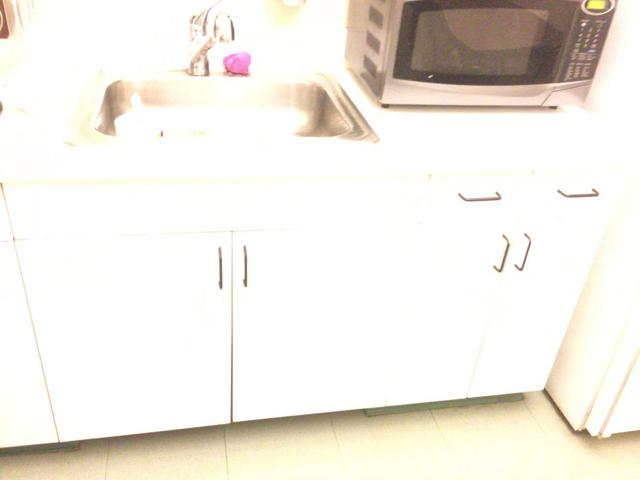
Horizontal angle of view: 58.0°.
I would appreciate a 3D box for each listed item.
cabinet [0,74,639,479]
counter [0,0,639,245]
[{"bbox_3d":[-0.260,0.100,1.520,1.810,0.840,0.630,-6,31,-13],"label":"cabinet"},{"bbox_3d":[-0.250,-0.330,1.300,1.830,0.280,0.730,-6,31,-13],"label":"counter"}]
